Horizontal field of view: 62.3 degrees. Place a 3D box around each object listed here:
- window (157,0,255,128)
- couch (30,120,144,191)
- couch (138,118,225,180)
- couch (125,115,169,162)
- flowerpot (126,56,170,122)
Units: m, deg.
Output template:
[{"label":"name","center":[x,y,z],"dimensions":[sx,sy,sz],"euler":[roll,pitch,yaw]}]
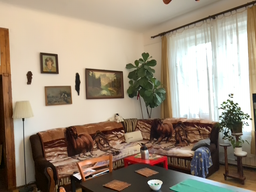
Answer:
[{"label":"window","center":[1.620,-0.580,4.750],"dimensions":[0.250,2.390,2.150],"euler":[-3,0,-42]},{"label":"couch","center":[-0.740,1.100,4.350],"dimensions":[2.090,0.960,0.910],"euler":[-3,0,-42]},{"label":"couch","center":[1.110,1.010,4.580],"dimensions":[0.960,0.930,1.480],"euler":[-3,0,-42]},{"label":"couch","center":[0.500,1.030,5.430],"dimensions":[0.980,0.950,1.130],"euler":[-3,0,7]},{"label":"flowerpot","center":[0.490,-0.160,5.430],"dimensions":[0.620,1.540,0.890],"euler":[-3,0,-32]}]
